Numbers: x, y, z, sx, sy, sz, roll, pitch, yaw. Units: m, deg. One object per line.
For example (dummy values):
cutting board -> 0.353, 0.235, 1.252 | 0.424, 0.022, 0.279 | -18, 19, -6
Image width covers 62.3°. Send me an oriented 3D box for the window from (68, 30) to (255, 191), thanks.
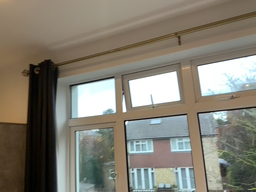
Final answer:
window -> 0.500, 0.330, 1.570 | 2.320, 1.450, 0.090 | -9, -13, 24
